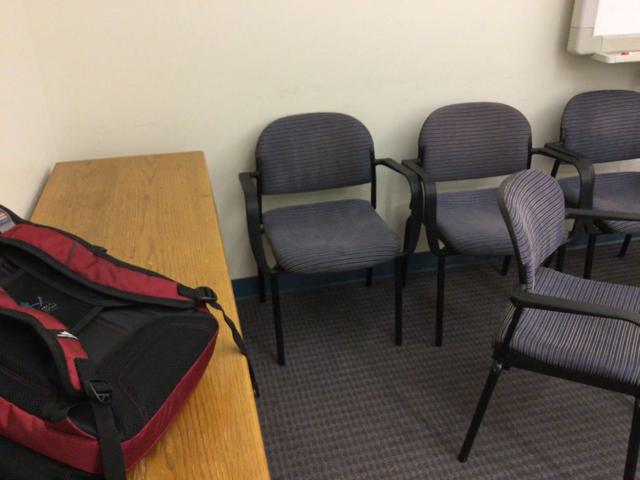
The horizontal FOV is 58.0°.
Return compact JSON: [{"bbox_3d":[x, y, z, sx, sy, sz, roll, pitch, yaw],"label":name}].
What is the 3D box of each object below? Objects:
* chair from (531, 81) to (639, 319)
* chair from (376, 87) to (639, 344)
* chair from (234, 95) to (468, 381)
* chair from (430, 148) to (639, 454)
[{"bbox_3d":[1.260,-0.190,2.210,0.540,0.700,0.620,-5,26,-8],"label":"chair"},{"bbox_3d":[0.620,-0.130,2.150,0.660,0.710,0.640,-5,26,-8],"label":"chair"},{"bbox_3d":[0.060,-0.050,2.070,0.640,0.760,0.660,-5,26,-8],"label":"chair"},{"bbox_3d":[0.710,0.110,1.500,0.630,0.470,0.610,14,30,28],"label":"chair"}]
